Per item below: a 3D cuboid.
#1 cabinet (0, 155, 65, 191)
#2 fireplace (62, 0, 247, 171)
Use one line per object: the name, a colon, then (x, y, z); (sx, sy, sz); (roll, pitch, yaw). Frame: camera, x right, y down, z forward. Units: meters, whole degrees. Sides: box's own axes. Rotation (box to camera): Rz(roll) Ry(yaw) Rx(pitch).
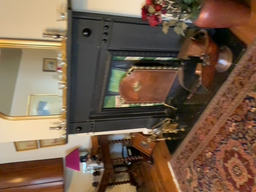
cabinet: (-1.510, 1.320, 3.310); (0.430, 0.980, 0.510); (107, 154, -43)
fireplace: (0.010, -0.020, 2.090); (1.610, 1.230, 0.670); (108, 153, -44)
